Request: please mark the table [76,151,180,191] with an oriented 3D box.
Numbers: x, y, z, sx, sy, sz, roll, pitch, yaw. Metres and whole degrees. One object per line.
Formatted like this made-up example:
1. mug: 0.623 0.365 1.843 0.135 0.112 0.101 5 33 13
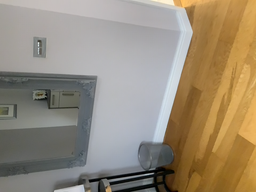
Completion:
1. table: -0.020 0.930 2.150 0.440 0.900 0.460 -137 53 -57
